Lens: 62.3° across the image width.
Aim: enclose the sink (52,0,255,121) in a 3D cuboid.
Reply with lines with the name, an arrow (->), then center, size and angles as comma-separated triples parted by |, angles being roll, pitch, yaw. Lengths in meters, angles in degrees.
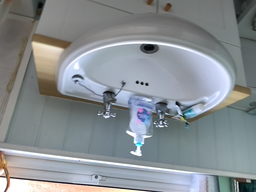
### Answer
sink -> 0.070, -0.110, 0.720 | 0.590, 0.170, 0.510 | 11, 156, -15
